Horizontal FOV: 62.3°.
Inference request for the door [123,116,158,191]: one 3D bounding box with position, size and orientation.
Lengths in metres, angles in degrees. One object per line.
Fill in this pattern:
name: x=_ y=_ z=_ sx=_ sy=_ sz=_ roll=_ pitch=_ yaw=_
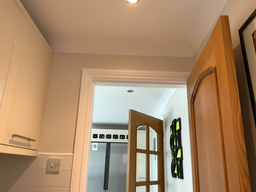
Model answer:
door: x=0.160 y=1.250 z=2.410 sx=0.070 sy=1.940 sz=0.670 roll=-10 pitch=-21 yaw=34
